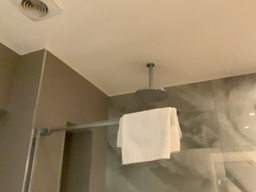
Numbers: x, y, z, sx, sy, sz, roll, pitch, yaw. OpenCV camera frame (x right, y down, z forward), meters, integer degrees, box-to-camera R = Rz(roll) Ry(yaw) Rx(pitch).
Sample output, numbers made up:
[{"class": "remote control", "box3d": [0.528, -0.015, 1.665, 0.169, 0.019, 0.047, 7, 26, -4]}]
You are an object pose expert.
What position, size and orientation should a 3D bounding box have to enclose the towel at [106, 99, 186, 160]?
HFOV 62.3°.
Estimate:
[{"class": "towel", "box3d": [0.070, 0.140, 0.820, 0.270, 0.190, 0.140, -7, -22, 19]}]
